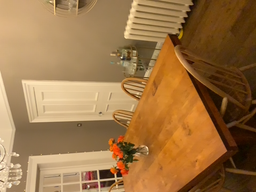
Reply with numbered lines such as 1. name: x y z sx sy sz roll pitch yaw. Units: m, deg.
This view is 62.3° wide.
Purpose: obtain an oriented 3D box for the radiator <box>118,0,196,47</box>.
1. radiator: 0.390 -1.160 2.570 1.160 0.780 0.230 112 153 -48

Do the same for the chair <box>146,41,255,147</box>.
1. chair: 0.670 0.010 1.560 0.510 0.870 0.510 114 151 -50
